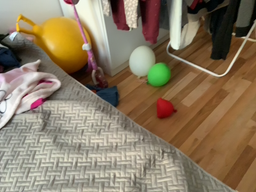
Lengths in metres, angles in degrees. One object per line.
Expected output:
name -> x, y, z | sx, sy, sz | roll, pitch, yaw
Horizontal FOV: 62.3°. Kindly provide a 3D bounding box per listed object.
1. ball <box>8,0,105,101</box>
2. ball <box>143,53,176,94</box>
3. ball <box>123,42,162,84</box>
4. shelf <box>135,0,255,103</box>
ball -> -0.480, -0.350, 1.530 | 0.460, 0.550, 0.320 | 31, 56, 31
ball -> 0.220, -0.160, 1.500 | 0.190, 0.180, 0.130 | -33, 51, -25
ball -> 0.110, -0.250, 1.580 | 0.230, 0.180, 0.160 | -33, 51, -25
shelf -> 0.700, -0.740, 1.530 | 0.690, 0.880, 1.160 | 32, 56, 31
